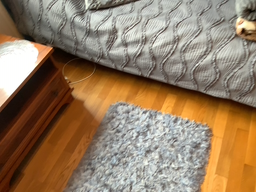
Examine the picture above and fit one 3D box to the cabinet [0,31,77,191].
[{"bbox_3d":[-0.880,0.070,1.320,0.640,0.500,0.820,18,59,19],"label":"cabinet"}]
